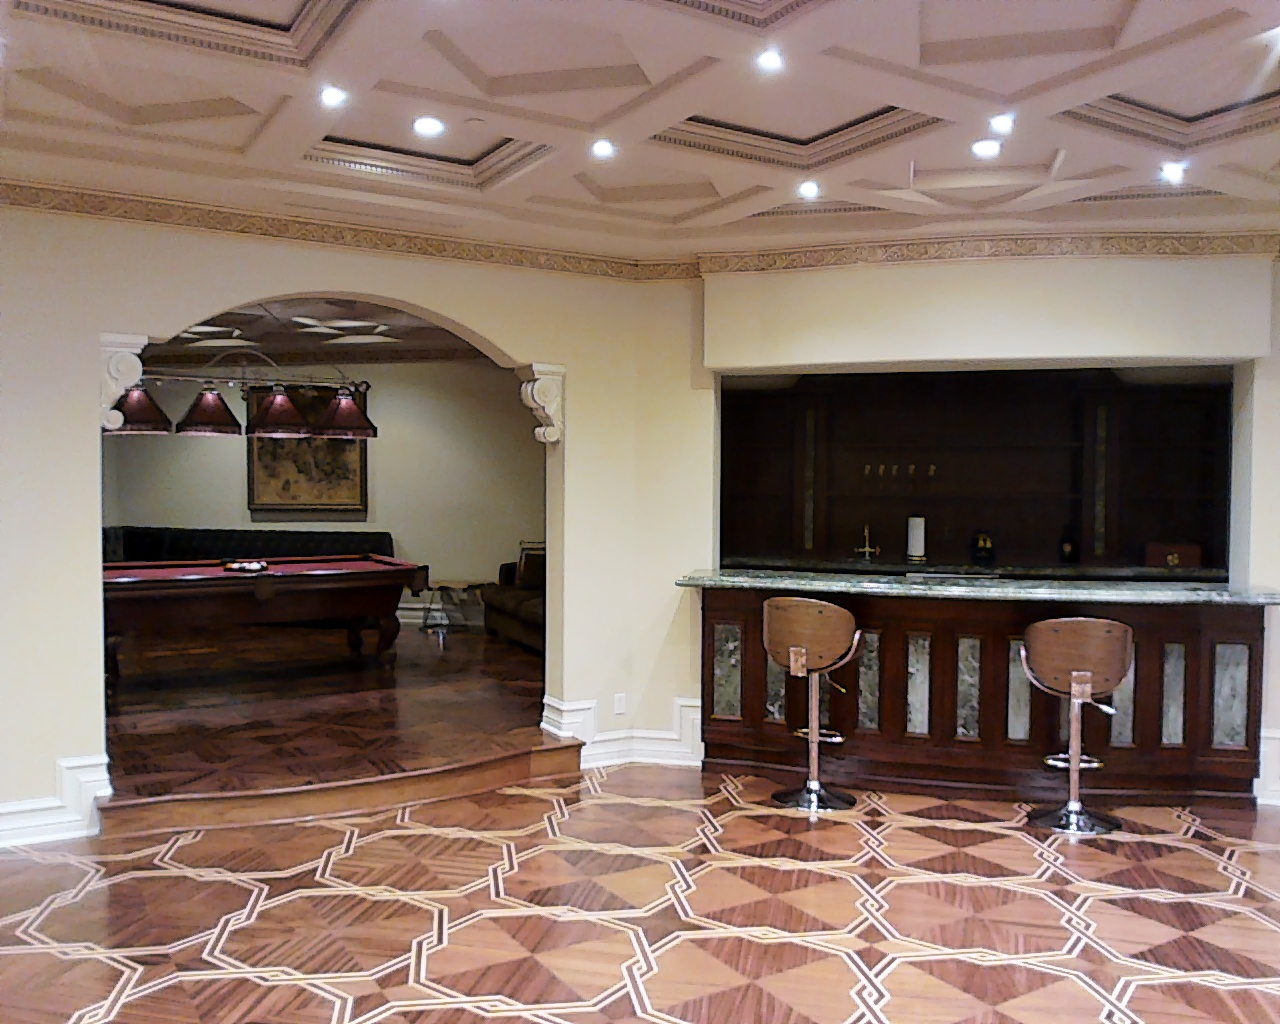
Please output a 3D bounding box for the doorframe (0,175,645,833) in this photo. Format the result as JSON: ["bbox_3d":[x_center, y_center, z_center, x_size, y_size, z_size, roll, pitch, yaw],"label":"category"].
[{"bbox_3d":[-1.530,-0.040,5.710,3.369,2.891,0.390,0,2,-31],"label":"doorframe"}]
